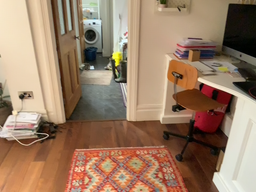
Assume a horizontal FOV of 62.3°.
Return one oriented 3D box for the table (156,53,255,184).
[{"bbox_3d":[0.770,0.120,2.060,0.720,0.830,1.030,-1,25,-6],"label":"table"}]
